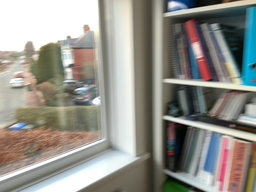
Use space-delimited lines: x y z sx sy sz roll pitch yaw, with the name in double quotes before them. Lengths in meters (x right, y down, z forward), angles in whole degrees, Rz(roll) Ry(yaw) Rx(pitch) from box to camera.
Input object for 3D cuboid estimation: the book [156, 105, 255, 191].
"book" 0.400 0.260 1.150 0.510 0.330 0.130 10 16 43
